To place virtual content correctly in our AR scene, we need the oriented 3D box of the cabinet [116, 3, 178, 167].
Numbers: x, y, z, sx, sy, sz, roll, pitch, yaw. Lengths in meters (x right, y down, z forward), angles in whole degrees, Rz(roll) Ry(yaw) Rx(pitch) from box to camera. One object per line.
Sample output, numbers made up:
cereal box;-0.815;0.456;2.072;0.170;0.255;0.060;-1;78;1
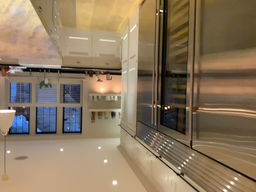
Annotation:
cabinet;0.290;-0.180;4.180;0.740;2.660;1.310;1;-178;-14
